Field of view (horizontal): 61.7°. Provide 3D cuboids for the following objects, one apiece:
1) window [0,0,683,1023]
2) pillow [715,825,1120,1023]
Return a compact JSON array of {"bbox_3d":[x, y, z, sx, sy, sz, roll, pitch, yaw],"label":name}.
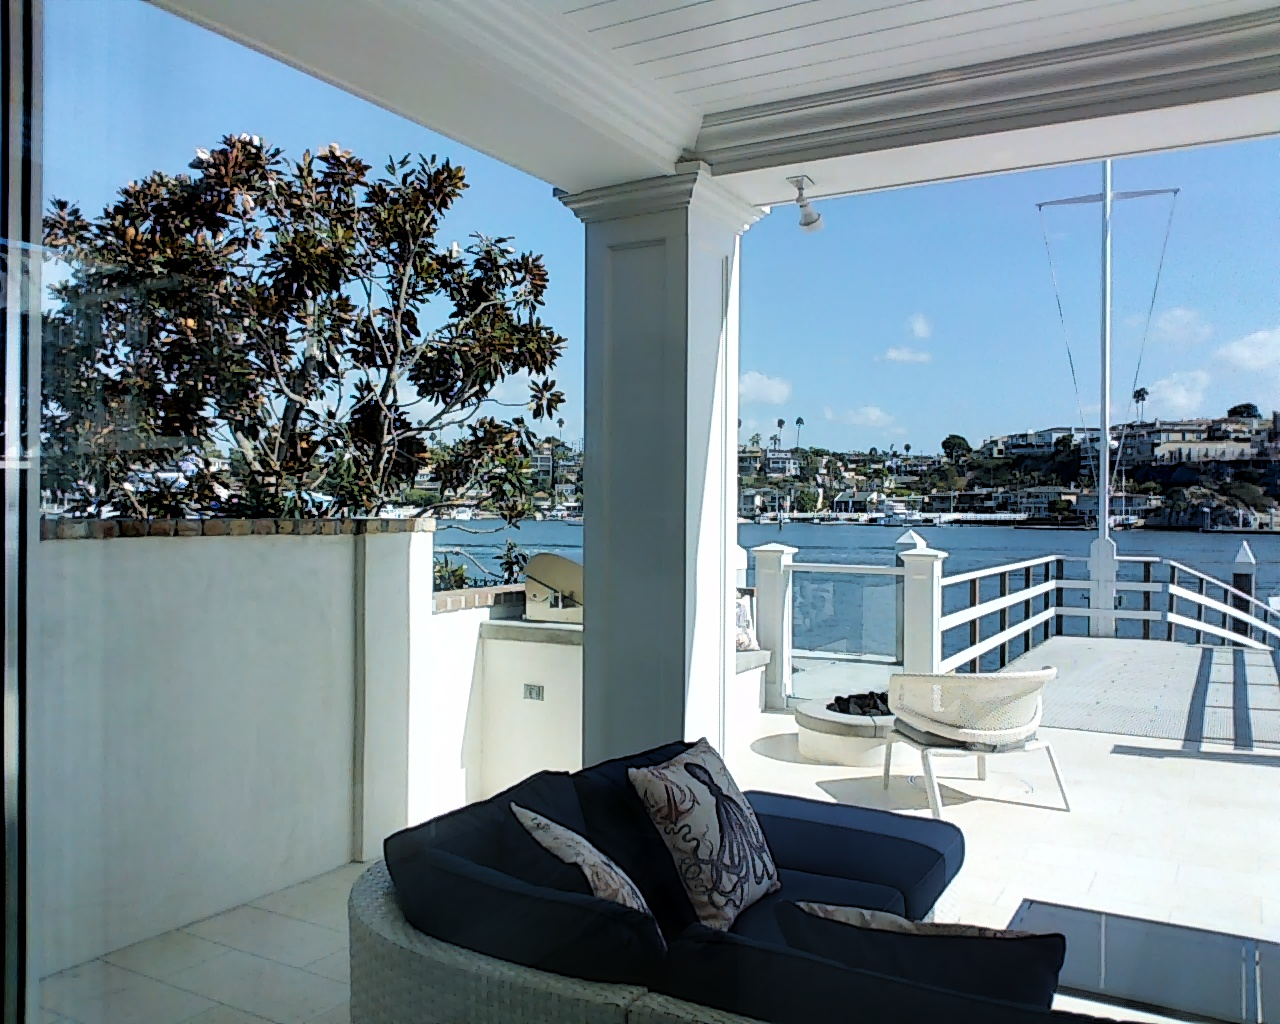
[{"bbox_3d":[-0.570,0.190,3.140,0.290,2.651,2.450,0,0,30],"label":"window"},{"bbox_3d":[0.490,0.850,1.880,0.590,0.460,0.370,0,-21,30],"label":"pillow"}]
